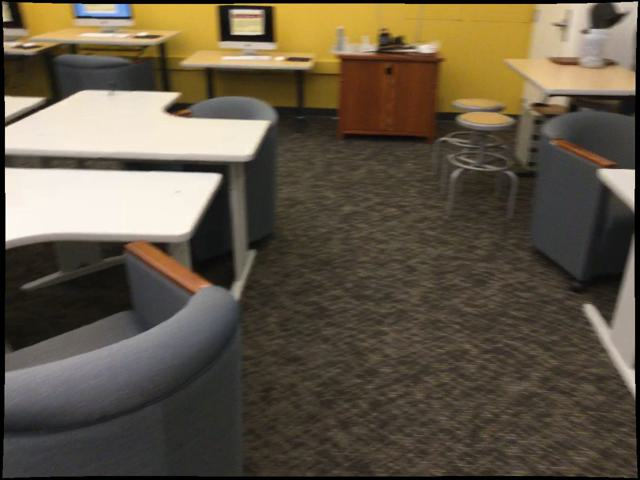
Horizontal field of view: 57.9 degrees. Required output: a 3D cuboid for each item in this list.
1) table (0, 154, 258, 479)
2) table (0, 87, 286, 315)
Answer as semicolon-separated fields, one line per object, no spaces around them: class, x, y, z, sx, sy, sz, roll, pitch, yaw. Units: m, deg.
table;-0.919;0.280;1.880;1.199;0.671;1.470;1;26;3
table;-0.849;-0.290;2.940;1.189;0.671;1.330;2;26;3
